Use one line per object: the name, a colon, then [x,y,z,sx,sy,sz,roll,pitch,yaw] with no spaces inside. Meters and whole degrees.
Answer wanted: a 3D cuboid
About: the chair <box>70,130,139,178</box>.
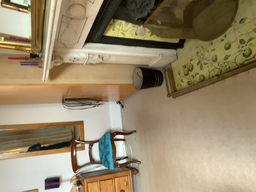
chair: [-0.350,0.790,3.020,0.520,0.820,0.500,154,112,-63]
